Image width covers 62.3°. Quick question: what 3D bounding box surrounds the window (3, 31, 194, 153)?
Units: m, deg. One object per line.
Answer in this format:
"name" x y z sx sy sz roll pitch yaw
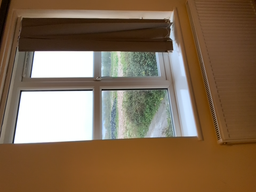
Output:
"window" -0.220 -0.100 1.800 0.050 1.390 1.070 104 164 -65
